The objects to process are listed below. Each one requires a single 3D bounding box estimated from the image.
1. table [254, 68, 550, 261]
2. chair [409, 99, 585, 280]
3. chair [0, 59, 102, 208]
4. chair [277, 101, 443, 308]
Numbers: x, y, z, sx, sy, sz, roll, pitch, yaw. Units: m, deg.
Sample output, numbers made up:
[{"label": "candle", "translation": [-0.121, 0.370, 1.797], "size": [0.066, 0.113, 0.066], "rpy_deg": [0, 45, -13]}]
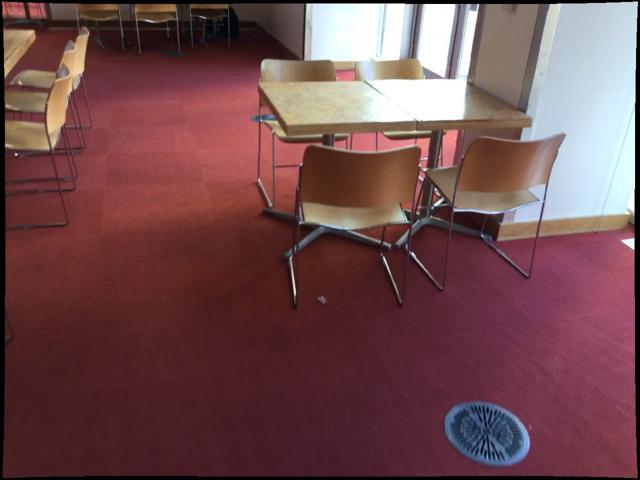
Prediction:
[{"label": "table", "translation": [0.350, -0.450, 3.060], "size": [1.279, 0.701, 0.790], "rpy_deg": [-5, 30, -12]}, {"label": "chair", "translation": [0.779, -0.250, 2.700], "size": [0.510, 0.671, 0.490], "rpy_deg": [-5, 30, -12]}, {"label": "chair", "translation": [-1.518, -0.571, 3.030], "size": [0.549, 0.630, 0.510], "rpy_deg": [-3, 30, -10]}, {"label": "chair", "translation": [0.130, -0.170, 2.500], "size": [0.549, 0.711, 0.500], "rpy_deg": [-5, 30, -12]}]
